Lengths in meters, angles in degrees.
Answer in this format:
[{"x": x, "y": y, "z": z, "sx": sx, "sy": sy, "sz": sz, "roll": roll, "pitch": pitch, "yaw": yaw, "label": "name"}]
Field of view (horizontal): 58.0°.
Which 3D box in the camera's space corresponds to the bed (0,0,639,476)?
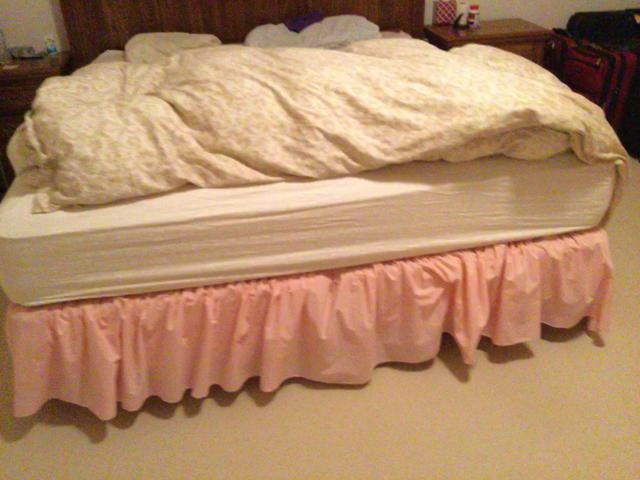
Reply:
[{"x": -0.200, "y": -0.700, "z": 2.380, "sx": 2.080, "sy": 1.640, "sz": 2.290, "roll": -8, "pitch": 27, "yaw": -6, "label": "bed"}]
